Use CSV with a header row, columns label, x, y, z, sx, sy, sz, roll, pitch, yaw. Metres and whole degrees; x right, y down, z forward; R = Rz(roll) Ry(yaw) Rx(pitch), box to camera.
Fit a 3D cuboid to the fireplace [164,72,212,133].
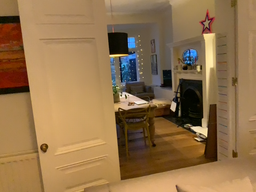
label,x,y,z,sx,sy,sz,roll,pitch,yaw
fireplace,1.340,0.070,4.870,0.490,1.190,1.170,-6,9,-15
